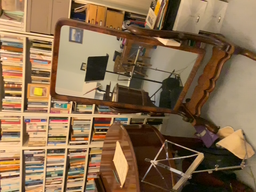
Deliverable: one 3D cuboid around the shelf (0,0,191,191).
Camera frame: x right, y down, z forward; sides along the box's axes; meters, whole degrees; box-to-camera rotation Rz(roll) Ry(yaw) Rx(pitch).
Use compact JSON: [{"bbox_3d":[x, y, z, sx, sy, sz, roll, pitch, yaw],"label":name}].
[{"bbox_3d":[-0.440,0.190,2.640,0.340,2.020,2.430,-137,54,-61],"label":"shelf"}]
